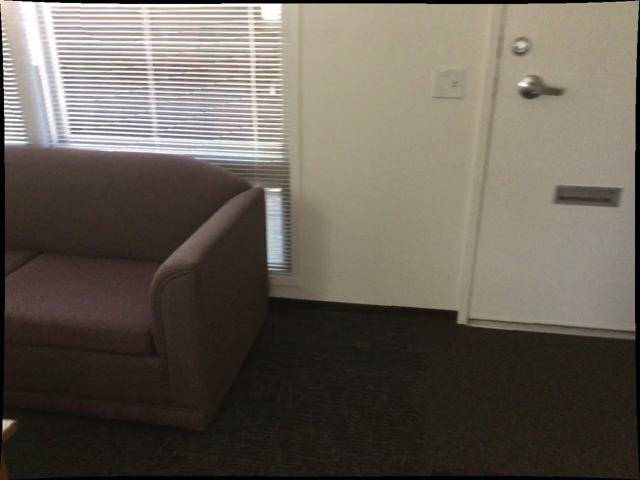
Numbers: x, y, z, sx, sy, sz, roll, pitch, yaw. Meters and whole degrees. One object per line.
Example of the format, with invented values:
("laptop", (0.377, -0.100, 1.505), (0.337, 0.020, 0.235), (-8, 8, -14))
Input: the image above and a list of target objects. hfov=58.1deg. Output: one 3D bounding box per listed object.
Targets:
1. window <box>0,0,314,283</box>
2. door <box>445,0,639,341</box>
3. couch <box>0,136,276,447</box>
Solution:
("window", (-1.248, -0.891, 2.490), (2.376, 1.993, 0.470), (4, 25, 9))
("door", (0.988, -0.551, 2.110), (0.879, 2.063, 0.080), (4, 25, 9))
("couch", (-1.178, 0.090, 2.320), (1.797, 0.771, 0.930), (4, 25, 9))
